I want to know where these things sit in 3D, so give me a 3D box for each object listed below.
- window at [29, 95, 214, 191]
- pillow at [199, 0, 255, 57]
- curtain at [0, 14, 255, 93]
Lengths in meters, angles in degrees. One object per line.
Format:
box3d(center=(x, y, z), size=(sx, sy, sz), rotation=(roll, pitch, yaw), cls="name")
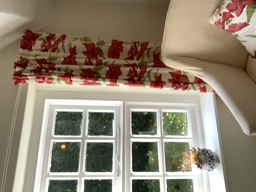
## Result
box3d(center=(-0.030, 0.450, 1.650), size=(0.280, 1.260, 0.830), rotation=(110, 161, -71), cls="window")
box3d(center=(0.610, -0.400, 1.110), size=(0.360, 0.320, 0.180), rotation=(17, -119, -51), cls="pillow")
box3d(center=(0.040, -0.280, 1.570), size=(0.280, 1.690, 0.410), rotation=(115, 156, -75), cls="curtain")
